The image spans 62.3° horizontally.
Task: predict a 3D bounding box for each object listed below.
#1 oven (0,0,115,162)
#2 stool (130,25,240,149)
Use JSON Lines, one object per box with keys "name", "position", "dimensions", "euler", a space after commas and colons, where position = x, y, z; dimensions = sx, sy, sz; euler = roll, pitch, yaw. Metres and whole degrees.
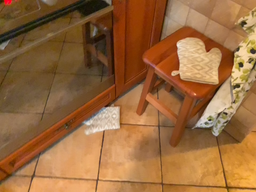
{"name": "oven", "position": [-0.480, -0.220, 0.850], "dimensions": [0.610, 0.470, 0.600], "euler": [-37, 63, -25]}
{"name": "stool", "position": [0.230, -0.030, 1.030], "dimensions": [0.270, 0.440, 0.320], "euler": [-36, 63, -25]}
